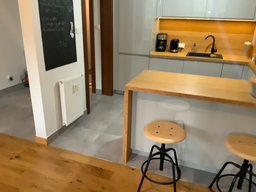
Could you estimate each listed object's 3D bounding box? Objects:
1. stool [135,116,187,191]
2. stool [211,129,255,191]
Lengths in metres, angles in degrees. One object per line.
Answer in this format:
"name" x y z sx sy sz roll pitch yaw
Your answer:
"stool" 0.290 0.540 1.870 0.340 0.580 0.340 9 22 18
"stool" 0.890 0.630 1.690 0.340 0.580 0.340 9 22 18
